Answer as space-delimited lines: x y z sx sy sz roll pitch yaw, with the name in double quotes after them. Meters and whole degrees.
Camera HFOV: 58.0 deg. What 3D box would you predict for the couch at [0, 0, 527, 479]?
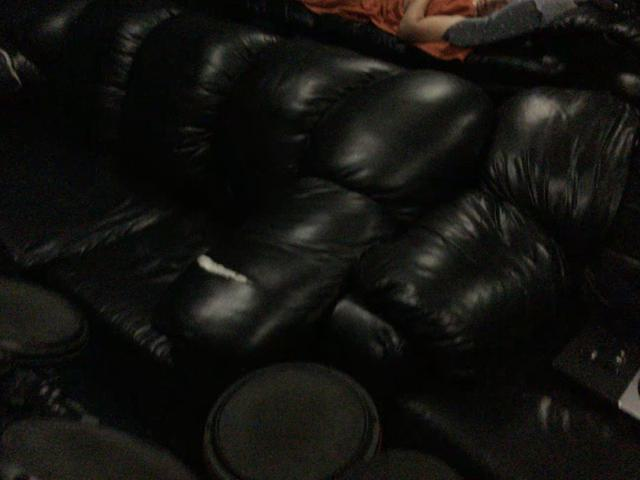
-0.710 -0.230 1.960 2.250 0.990 1.170 24 38 37 "couch"
